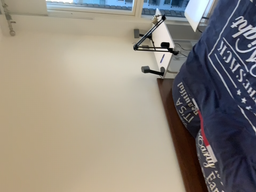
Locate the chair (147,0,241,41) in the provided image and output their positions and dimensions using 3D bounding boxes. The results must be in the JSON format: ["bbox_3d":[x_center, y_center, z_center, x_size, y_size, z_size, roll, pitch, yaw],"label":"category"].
[{"bbox_3d":[0.690,-0.960,2.390,0.450,0.830,0.420,102,166,-48],"label":"chair"}]
